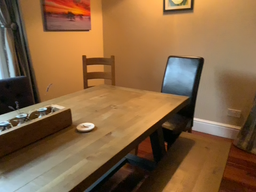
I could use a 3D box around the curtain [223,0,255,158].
[{"bbox_3d":[1.390,-0.520,2.190,0.460,2.410,0.320,8,19,27],"label":"curtain"}]
